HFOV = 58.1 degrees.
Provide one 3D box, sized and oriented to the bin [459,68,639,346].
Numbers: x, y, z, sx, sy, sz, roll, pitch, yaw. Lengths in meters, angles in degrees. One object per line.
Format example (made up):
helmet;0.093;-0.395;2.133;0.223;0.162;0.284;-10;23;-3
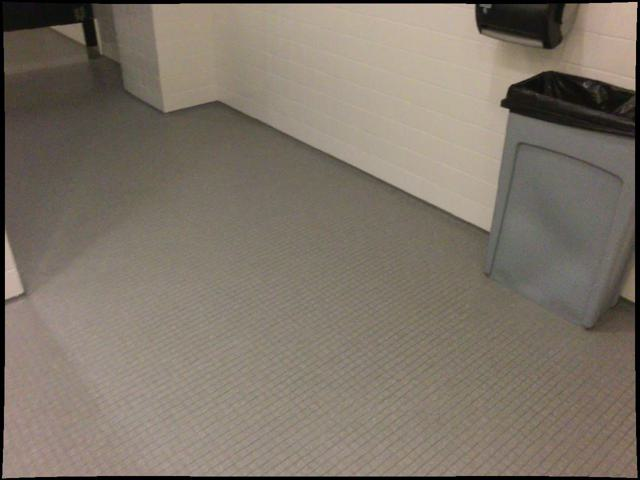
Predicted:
bin;0.868;-0.130;2.040;0.290;0.771;0.580;-25;40;-34
